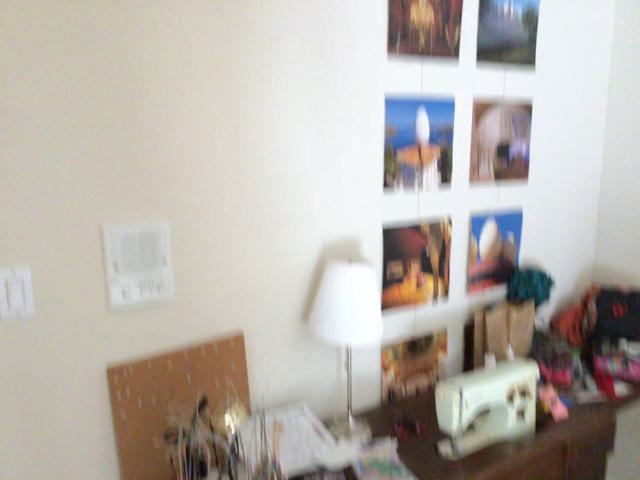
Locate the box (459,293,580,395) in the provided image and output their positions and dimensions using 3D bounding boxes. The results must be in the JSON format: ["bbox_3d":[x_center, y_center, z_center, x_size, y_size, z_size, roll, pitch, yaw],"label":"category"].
[{"bbox_3d":[0.730,0.360,2.100,0.430,0.240,0.200,-8,9,-35],"label":"box"}]
